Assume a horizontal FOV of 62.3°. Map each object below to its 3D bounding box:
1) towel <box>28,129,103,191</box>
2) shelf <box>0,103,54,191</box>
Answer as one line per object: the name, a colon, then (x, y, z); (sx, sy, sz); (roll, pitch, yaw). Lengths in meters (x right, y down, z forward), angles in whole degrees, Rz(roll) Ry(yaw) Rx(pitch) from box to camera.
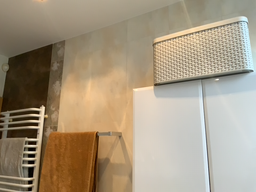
towel: (-0.460, 0.710, 1.480); (0.560, 0.920, 0.150); (-8, -16, 31)
shelf: (-1.040, 0.600, 1.870); (0.690, 0.990, 0.250); (-7, -16, 31)
